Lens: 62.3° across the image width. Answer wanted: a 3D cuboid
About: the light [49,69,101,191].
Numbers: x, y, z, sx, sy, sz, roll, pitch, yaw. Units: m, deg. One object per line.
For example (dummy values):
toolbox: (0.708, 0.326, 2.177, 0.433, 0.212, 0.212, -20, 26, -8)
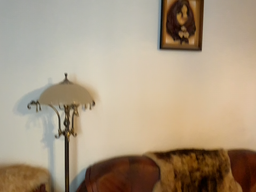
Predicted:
light: (-0.380, 0.780, 1.560, 0.310, 1.930, 0.340, 0, 5, -14)
